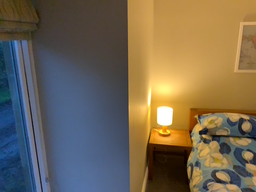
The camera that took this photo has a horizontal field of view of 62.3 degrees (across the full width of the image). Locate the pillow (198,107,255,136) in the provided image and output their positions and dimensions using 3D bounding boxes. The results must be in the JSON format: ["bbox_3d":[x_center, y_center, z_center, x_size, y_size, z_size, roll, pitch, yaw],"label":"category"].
[{"bbox_3d":[1.090,0.260,2.220,0.620,0.150,0.330,3,16,9],"label":"pillow"}]
